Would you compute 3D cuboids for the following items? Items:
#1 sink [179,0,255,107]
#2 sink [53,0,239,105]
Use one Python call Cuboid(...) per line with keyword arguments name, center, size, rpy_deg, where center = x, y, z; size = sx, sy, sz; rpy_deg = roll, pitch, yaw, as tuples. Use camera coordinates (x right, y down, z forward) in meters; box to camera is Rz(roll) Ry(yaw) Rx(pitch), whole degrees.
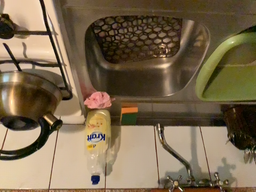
Cuboid(name="sink", center=(0.420, -0.130, 0.720), size=(0.360, 0.160, 0.410), rpy_deg=(1, 150, -4))
Cuboid(name="sink", center=(0.030, -0.140, 0.690), size=(0.420, 0.160, 0.410), rpy_deg=(1, 150, -4))
